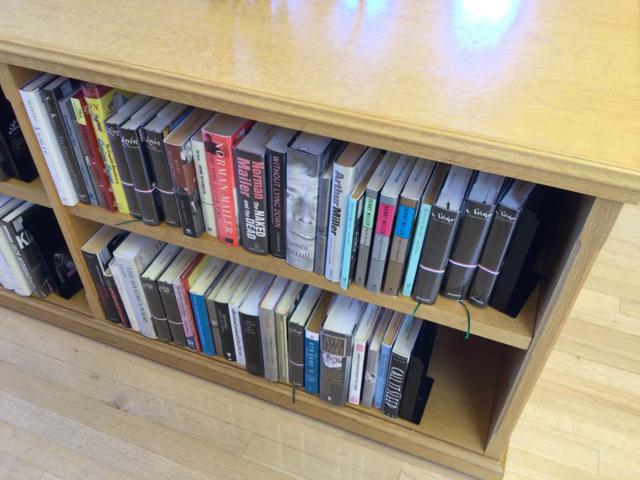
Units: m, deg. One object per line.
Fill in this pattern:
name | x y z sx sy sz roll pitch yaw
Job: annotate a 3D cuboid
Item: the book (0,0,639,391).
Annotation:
book | -0.060 -0.100 0.930 0.990 0.380 0.180 16 45 17
